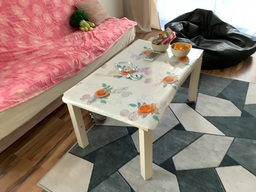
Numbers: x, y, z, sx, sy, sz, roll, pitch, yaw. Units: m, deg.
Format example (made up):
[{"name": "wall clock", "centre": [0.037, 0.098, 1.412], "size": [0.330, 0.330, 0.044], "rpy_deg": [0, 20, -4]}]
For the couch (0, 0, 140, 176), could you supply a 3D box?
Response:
[{"name": "couch", "centre": [-0.790, -0.470, 1.890], "size": [0.960, 0.880, 2.050], "rpy_deg": [16, 40, 25]}]

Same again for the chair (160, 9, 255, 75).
[{"name": "chair", "centre": [0.930, -0.670, 2.440], "size": [1.020, 0.400, 0.900], "rpy_deg": [4, 37, 11]}]
